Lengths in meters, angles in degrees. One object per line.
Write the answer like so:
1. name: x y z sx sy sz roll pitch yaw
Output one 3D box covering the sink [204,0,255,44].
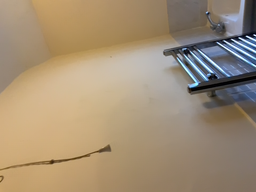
1. sink: 0.680 -0.640 1.400 0.530 0.160 0.440 -95 -6 -62
